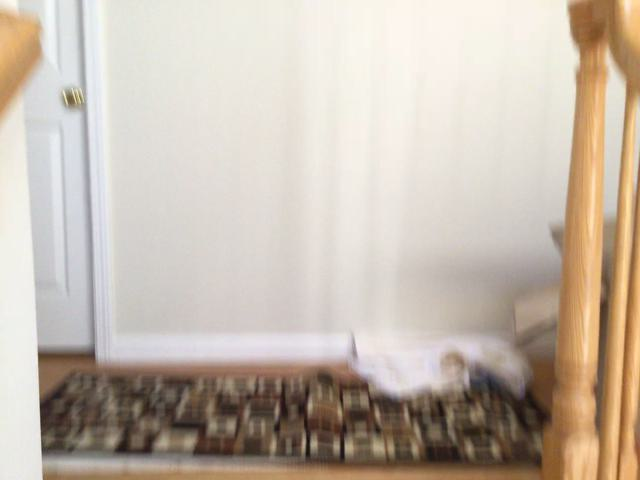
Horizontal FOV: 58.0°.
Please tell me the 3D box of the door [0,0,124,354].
[{"bbox_3d":[-0.990,-0.610,2.080,0.350,2.050,0.240,1,11,4],"label":"door"}]
